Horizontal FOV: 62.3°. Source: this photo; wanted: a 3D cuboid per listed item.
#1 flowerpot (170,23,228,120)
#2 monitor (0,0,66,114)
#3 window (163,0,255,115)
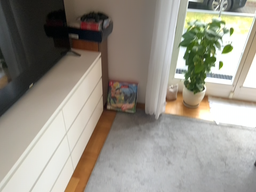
[{"bbox_3d":[0.770,-0.250,2.430,0.390,1.040,0.290,11,37,12],"label":"flowerpot"},{"bbox_3d":[-0.700,-0.340,1.160,0.070,0.760,1.290,8,37,8],"label":"monitor"},{"bbox_3d":[1.420,-0.900,2.110,1.790,2.510,0.250,12,37,13],"label":"window"}]
